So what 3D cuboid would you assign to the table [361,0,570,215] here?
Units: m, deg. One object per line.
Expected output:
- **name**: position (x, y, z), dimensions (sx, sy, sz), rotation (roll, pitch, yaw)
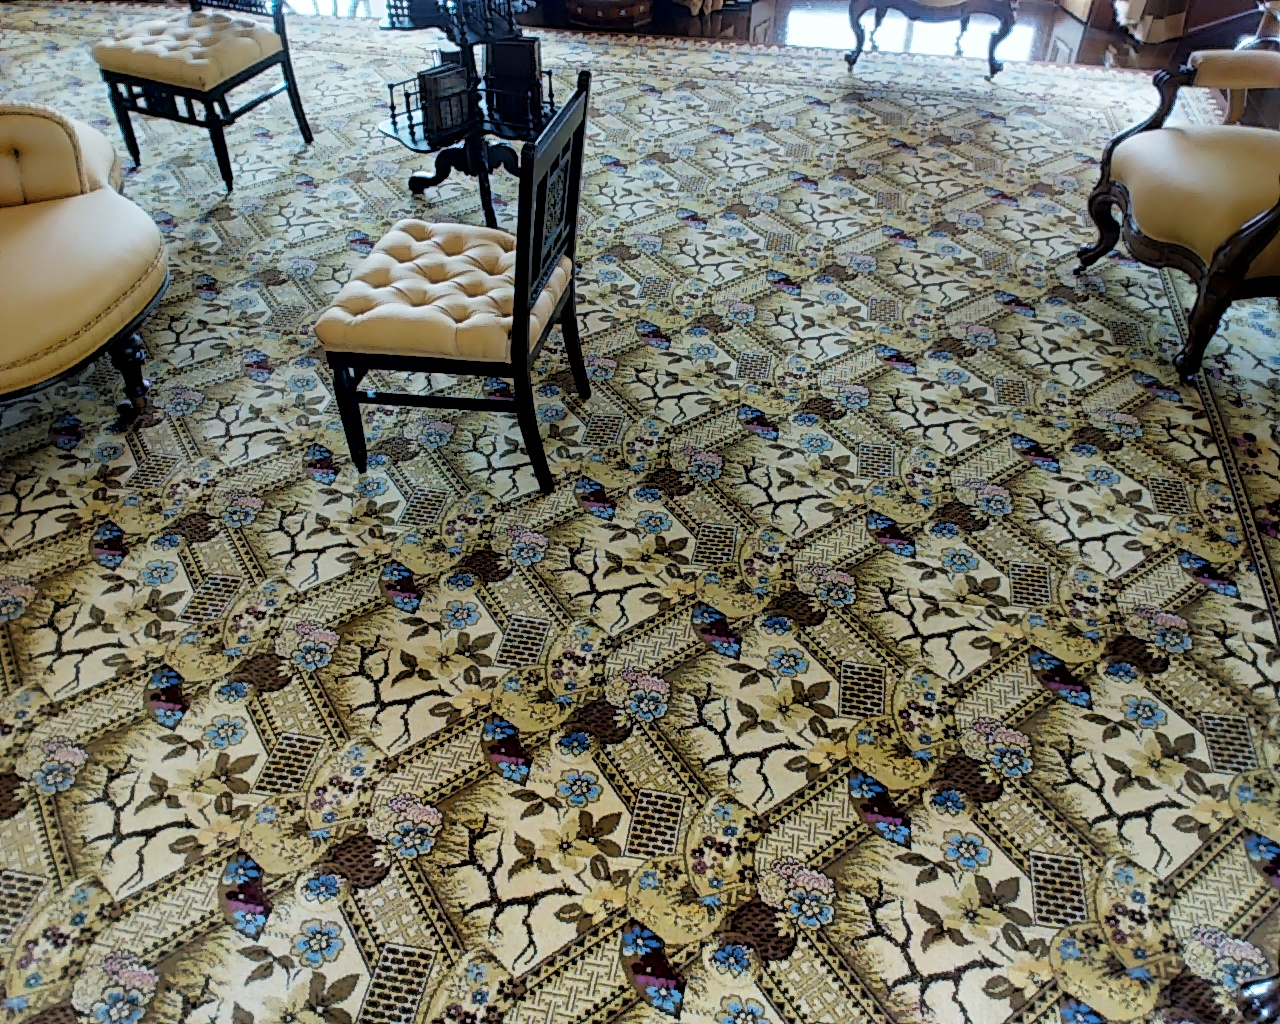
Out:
- **table**: position (-0.510, -1.360, 3.310), dimensions (0.540, 0.680, 0.510), rotation (-3, 42, -4)
